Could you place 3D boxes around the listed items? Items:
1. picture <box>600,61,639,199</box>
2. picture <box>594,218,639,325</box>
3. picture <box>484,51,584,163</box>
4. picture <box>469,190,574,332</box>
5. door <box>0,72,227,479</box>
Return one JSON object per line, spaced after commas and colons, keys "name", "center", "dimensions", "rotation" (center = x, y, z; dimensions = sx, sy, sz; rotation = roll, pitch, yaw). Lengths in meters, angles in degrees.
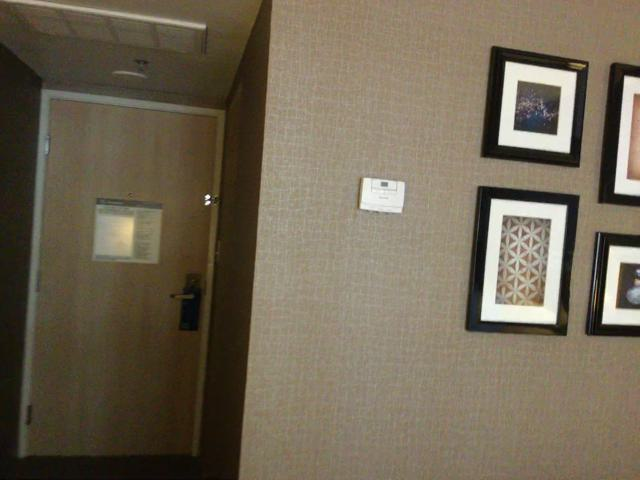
{"name": "picture", "center": [0.970, -0.310, 1.690], "dimensions": [0.280, 0.380, 0.040], "rotation": [6, -3, -10]}
{"name": "picture", "center": [0.950, 0.100, 1.700], "dimensions": [0.280, 0.300, 0.020], "rotation": [6, -3, -10]}
{"name": "picture", "center": [0.600, -0.370, 1.620], "dimensions": [0.260, 0.270, 0.040], "rotation": [6, -3, -10]}
{"name": "picture", "center": [0.570, 0.060, 1.630], "dimensions": [0.270, 0.370, 0.040], "rotation": [6, -3, -10]}
{"name": "door", "center": [-1.140, 0.220, 3.220], "dimensions": [1.010, 2.110, 0.300], "rotation": [6, -3, -10]}
